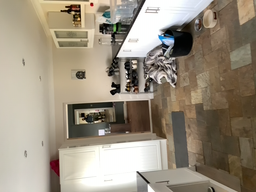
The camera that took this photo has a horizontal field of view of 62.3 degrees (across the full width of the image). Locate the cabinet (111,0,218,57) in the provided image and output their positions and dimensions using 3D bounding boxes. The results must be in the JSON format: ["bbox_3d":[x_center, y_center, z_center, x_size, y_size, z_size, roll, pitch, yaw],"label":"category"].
[{"bbox_3d":[0.370,-1.280,3.380,2.570,0.890,0.610,153,114,-76],"label":"cabinet"}]

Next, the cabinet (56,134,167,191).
[{"bbox_3d":[-0.330,1.350,4.270,0.660,2.040,0.930,157,110,-77],"label":"cabinet"}]

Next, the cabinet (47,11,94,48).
[{"bbox_3d":[-1.090,-1.260,4.170,1.020,0.780,0.310,153,114,-76],"label":"cabinet"}]
